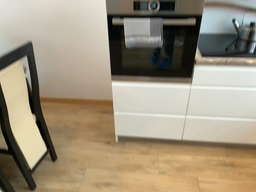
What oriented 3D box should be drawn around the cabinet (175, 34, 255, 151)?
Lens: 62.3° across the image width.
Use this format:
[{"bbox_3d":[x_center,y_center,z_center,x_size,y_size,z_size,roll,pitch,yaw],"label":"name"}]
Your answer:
[{"bbox_3d":[1.030,-0.030,1.880,1.070,0.830,0.580,3,34,5],"label":"cabinet"}]
